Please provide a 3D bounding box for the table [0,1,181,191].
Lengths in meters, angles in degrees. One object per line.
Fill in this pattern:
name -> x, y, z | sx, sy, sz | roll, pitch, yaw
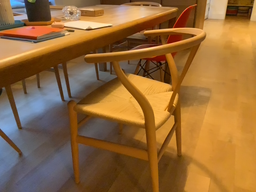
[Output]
table -> -0.390, -0.190, 1.520 | 0.950, 0.780, 1.990 | 13, 30, 24
